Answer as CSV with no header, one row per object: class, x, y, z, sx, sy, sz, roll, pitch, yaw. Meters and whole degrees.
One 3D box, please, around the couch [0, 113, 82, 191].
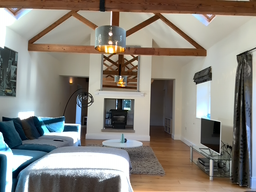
couch,-1.940,0.850,3.910,1.340,0.840,3.460,2,-2,1
